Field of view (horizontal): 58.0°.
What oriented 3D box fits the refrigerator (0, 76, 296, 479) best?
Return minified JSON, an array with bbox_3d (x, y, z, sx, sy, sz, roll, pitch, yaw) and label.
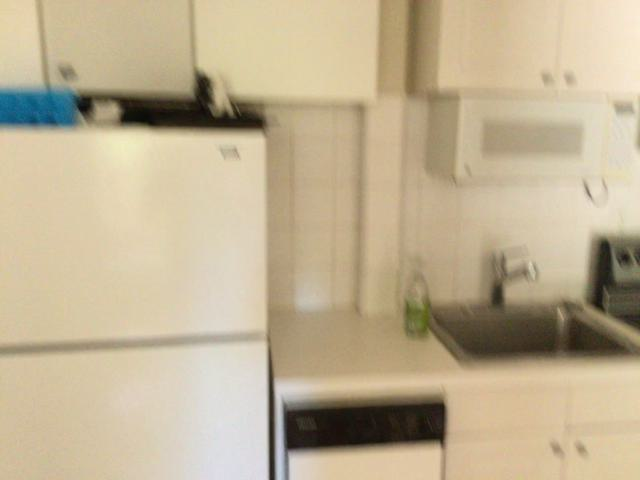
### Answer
[{"bbox_3d":[-0.540,0.430,1.690,0.870,1.640,0.760,-3,10,-1],"label":"refrigerator"}]
